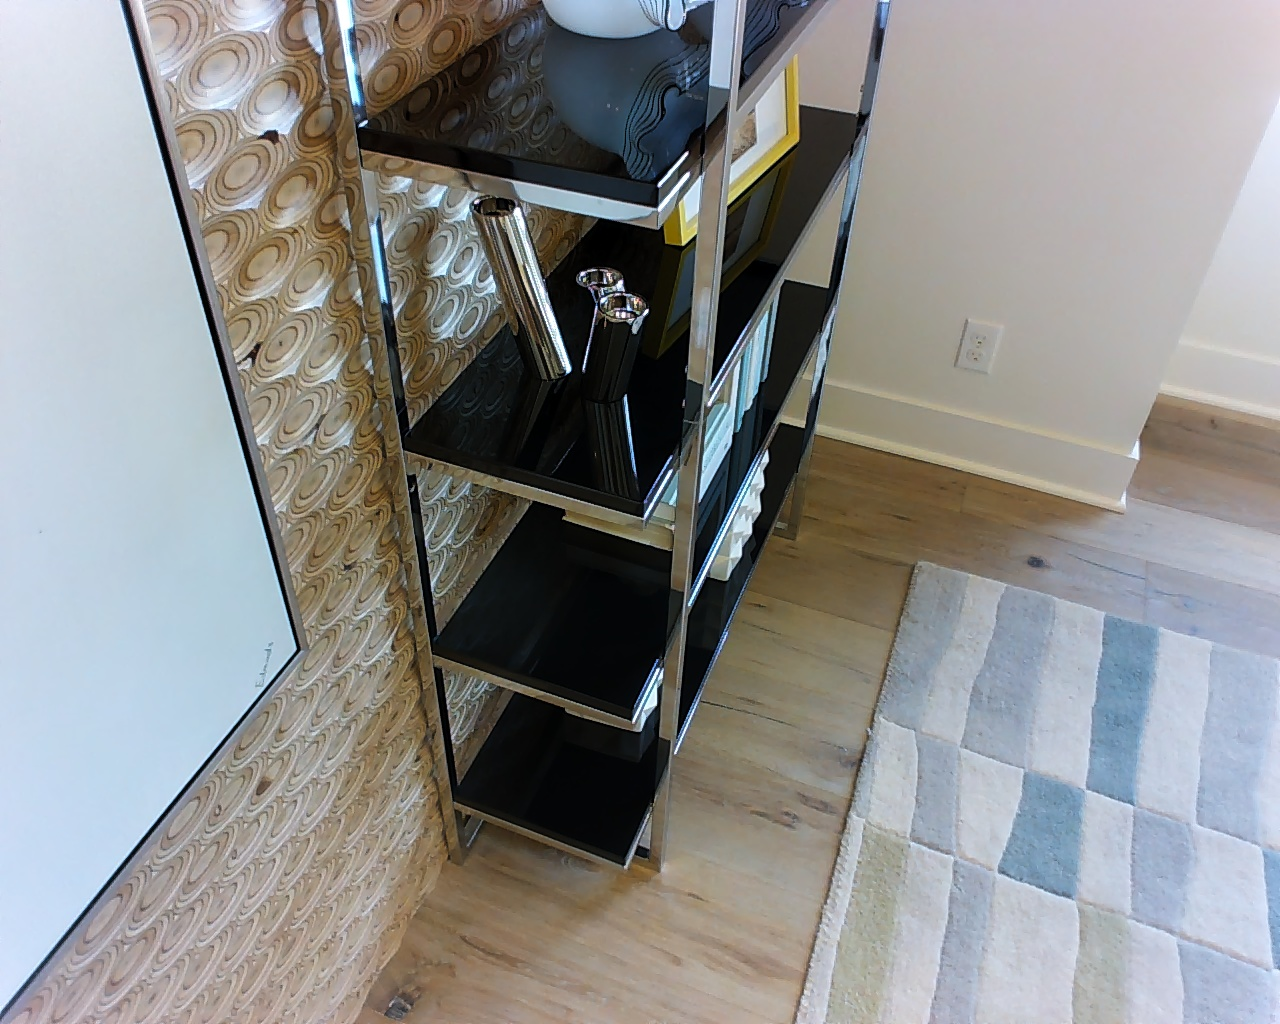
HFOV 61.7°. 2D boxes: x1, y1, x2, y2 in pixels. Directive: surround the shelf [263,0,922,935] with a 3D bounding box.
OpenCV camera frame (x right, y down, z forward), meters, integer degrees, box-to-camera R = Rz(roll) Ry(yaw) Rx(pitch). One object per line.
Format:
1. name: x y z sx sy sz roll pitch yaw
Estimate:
1. shelf: 0.070 -0.310 1.410 0.320 1.400 1.060 15 44 16
